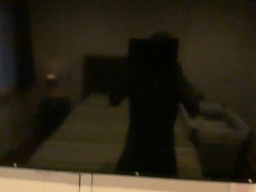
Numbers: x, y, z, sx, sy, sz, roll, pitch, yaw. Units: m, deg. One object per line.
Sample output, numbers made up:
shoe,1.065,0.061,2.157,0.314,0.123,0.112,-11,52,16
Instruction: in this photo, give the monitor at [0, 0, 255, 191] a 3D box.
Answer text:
monitor,-0.140,-0.070,0.590,1.180,0.670,0.050,8,7,-1
